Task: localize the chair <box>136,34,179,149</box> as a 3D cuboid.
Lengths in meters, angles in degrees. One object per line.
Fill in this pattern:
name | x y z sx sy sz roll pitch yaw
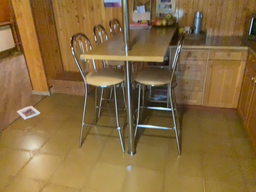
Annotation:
chair | 0.270 -0.020 2.020 0.330 1.060 0.270 4 27 12
